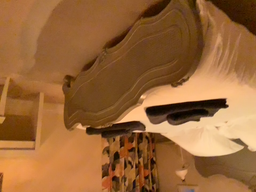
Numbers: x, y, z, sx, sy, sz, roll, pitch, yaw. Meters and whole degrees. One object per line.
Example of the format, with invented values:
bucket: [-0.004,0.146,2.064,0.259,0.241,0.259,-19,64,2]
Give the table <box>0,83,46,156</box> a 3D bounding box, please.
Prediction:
table: [-1.640,0.280,2.440,1.180,0.780,0.460,9,159,-34]
